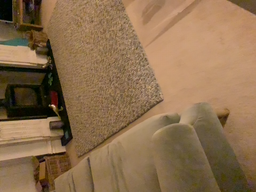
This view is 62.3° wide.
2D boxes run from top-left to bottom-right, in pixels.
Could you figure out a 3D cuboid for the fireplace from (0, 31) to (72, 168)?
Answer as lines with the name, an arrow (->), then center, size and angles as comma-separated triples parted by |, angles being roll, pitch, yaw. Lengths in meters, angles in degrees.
fireplace -> -1.800, 0.050, 3.140 | 0.970, 1.290, 1.750 | -42, 60, 43
